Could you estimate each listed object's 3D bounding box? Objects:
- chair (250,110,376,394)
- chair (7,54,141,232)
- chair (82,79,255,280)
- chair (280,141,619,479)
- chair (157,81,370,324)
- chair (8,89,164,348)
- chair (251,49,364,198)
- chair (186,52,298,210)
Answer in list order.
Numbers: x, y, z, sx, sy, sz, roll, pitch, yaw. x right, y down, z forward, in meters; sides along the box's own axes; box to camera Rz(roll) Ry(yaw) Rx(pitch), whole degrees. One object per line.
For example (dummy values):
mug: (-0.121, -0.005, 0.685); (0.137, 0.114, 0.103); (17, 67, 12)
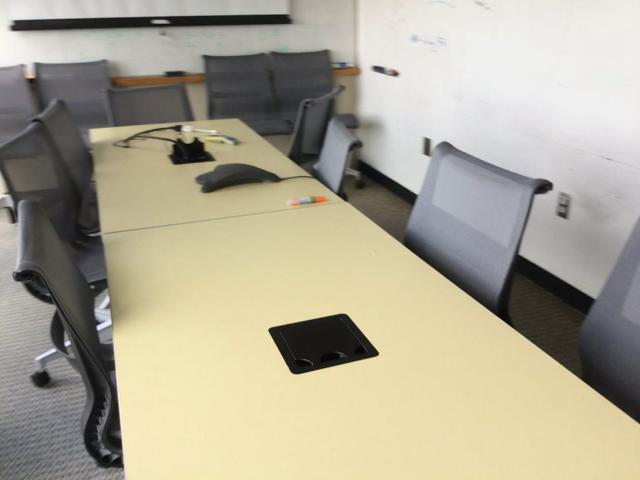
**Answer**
chair: (-0.050, 0.000, 2.330); (0.360, 0.890, 0.750); (-5, 23, -8)
chair: (-1.490, -0.630, 3.600); (0.560, 0.930, 0.610); (-9, 24, -17)
chair: (-0.790, -0.360, 3.050); (0.640, 0.840, 0.620); (-14, 26, -26)
chair: (0.260, 0.280, 1.530); (0.510, 0.910, 0.630); (-10, 25, -20)
chair: (-0.210, -0.240, 2.820); (0.710, 0.930, 0.760); (7, 24, 19)
chair: (-0.950, -0.130, 2.520); (0.400, 0.920, 0.670); (-6, 23, -11)
chair: (-0.090, -0.840, 4.060); (0.610, 0.890, 0.580); (-9, 24, -17)
chair: (-0.530, -0.760, 3.940); (0.580, 0.920, 0.550); (-9, 24, -17)
